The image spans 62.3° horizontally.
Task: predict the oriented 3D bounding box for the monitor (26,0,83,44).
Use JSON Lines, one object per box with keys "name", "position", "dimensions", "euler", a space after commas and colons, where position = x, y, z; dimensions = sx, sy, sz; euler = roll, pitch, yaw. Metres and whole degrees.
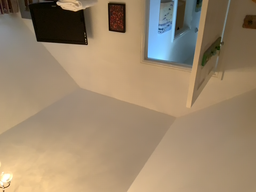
{"name": "monitor", "position": [-0.960, -0.990, 2.790], "dimensions": [0.740, 0.550, 0.030], "euler": [8, -149, 15]}
